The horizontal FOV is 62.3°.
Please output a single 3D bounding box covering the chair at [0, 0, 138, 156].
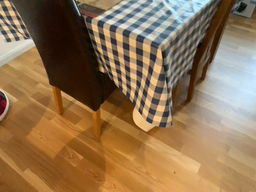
[{"bbox_3d":[-0.260,-0.220,1.090,0.400,0.980,0.510,26,53,22],"label":"chair"}]
